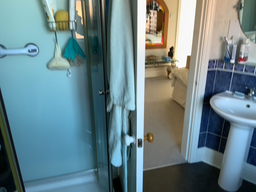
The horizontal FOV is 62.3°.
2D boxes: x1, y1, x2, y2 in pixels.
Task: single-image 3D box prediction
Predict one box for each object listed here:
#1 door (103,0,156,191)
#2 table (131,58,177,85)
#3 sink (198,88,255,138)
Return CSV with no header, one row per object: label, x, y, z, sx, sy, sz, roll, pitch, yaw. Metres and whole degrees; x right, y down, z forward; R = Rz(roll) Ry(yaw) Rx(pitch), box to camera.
door,-0.040,0.000,1.390,0.100,2.020,0.830,-5,22,-12
table,0.630,-0.620,5.190,1.050,0.470,0.370,-10,24,-24
sink,0.930,0.130,1.750,0.560,0.200,0.320,18,28,38
